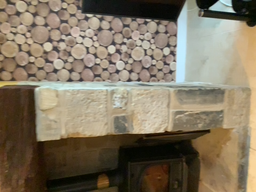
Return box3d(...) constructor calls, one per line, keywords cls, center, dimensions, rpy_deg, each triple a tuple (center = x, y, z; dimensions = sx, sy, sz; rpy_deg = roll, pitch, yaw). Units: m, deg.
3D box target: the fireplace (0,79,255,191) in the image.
box3d(cls="fireplace", center=(-0.020, 0.800, 1.820), dimensions=(0.850, 1.700, 1.840), rpy_deg=(-157, 67, -72))
